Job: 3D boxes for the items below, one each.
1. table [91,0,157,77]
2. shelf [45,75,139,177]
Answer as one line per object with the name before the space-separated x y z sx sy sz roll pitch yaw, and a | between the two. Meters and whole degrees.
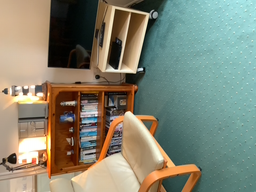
table | -0.070 -0.590 2.210 0.420 0.450 0.660 43 128 53
shelf | -0.390 0.270 2.330 0.330 0.930 0.960 19 107 60
